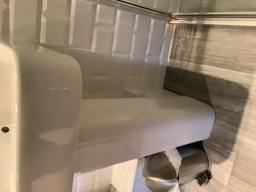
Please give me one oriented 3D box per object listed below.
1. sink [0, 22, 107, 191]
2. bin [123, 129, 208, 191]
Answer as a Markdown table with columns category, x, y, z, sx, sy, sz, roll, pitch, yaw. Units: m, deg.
| category | x | y | z | sx | sy | sz | roll | pitch | yaw |
| --- | --- | --- | --- | --- | --- | --- | --- | --- | --- |
| sink | -0.280 | 0.090 | 0.590 | 0.440 | 0.160 | 0.540 | 26 | 112 | 47 |
| bin | 0.180 | 0.310 | 1.020 | 0.220 | 0.310 | 0.170 | 29 | 115 | 46 |
